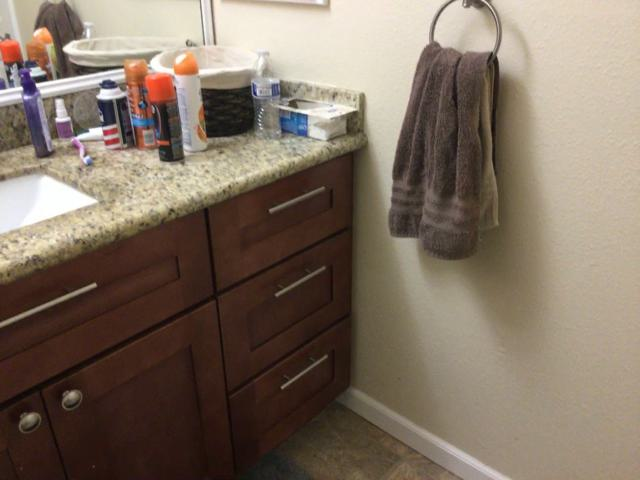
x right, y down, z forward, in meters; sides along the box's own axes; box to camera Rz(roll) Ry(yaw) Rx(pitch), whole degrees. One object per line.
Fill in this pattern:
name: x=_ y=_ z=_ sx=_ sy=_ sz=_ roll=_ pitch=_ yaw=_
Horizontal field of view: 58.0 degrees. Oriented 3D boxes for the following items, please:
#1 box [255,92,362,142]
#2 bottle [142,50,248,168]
box: x=-0.030 y=-0.310 z=1.430 sx=0.250 sy=0.070 sz=0.120 roll=20 pitch=33 yaw=39
bottle: x=-0.280 y=-0.300 z=1.300 sx=0.220 sy=0.220 sz=0.100 roll=20 pitch=33 yaw=39
